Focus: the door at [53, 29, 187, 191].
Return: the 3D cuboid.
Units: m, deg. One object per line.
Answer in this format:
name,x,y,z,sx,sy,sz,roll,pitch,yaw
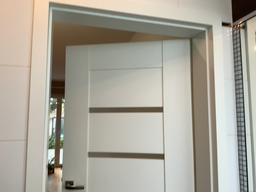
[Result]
door,-0.060,0.640,1.320,0.820,2.110,0.090,0,-5,7
